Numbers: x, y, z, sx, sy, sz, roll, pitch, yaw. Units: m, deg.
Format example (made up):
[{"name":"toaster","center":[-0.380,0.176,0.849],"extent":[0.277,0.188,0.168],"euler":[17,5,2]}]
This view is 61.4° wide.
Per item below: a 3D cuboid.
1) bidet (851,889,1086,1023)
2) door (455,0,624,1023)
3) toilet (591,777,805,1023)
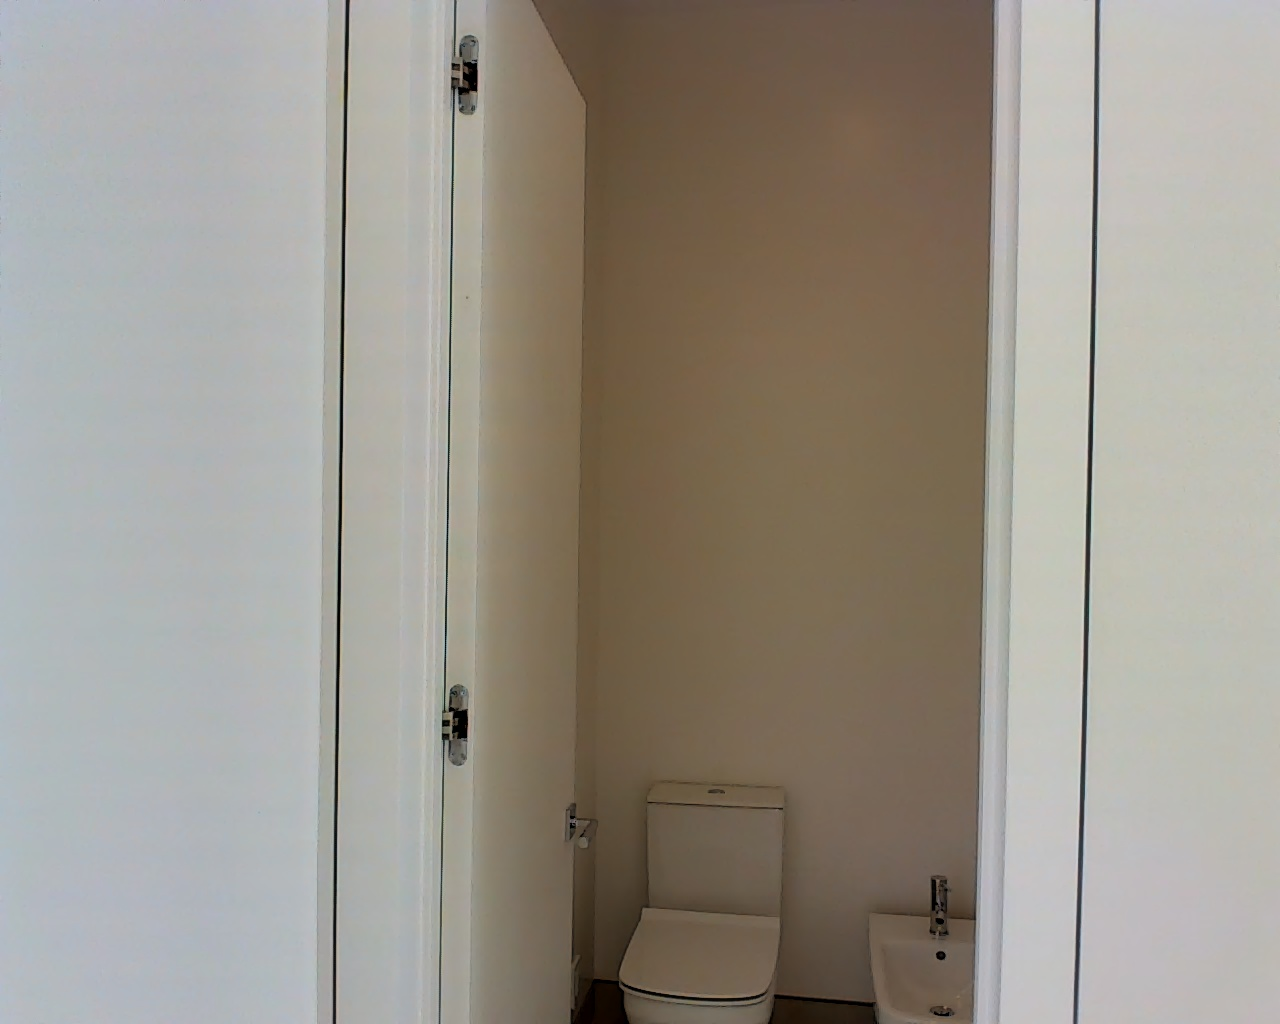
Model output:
[{"name":"bidet","center":[0.790,1.310,2.730],"extent":[0.470,0.430,0.700],"euler":[1,1,9]},{"name":"door","center":[-0.160,0.300,1.980],"extent":[0.070,2.450,0.840],"euler":[1,1,9]},{"name":"toilet","center":[0.180,1.160,2.820],"extent":[0.480,0.730,0.720],"euler":[1,1,9]}]
